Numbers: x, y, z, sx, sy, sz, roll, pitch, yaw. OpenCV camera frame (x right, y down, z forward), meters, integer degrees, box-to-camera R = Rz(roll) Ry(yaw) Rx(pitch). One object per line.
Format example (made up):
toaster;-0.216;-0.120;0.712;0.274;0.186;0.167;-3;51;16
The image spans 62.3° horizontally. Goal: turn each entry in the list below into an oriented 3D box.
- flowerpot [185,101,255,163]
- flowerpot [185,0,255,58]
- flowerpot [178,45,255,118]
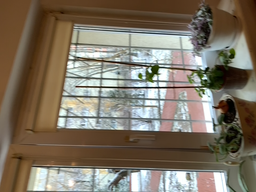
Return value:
flowerpot;0.480;0.180;1.000;0.220;0.330;0.230;103;169;-63
flowerpot;0.510;-0.410;1.220;0.200;0.270;0.300;102;169;-61
flowerpot;0.480;-0.070;1.130;0.220;0.330;0.300;102;169;-62
